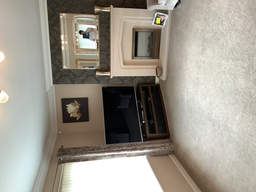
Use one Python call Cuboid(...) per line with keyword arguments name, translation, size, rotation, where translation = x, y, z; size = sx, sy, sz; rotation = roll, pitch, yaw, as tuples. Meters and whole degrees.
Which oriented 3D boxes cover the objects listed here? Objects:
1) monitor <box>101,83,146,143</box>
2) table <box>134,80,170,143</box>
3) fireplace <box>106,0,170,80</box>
Cuboid(name="monitor", translation=(-0.120, 0.310, 4.380), size=(0.050, 0.800, 1.280), rotation=(111, 155, -61))
Cuboid(name="table", translation=(0.480, 0.320, 4.560), size=(0.490, 0.450, 1.240), rotation=(111, 155, -61))
Cuboid(name="fireplace", translation=(0.130, -1.120, 4.380), size=(0.830, 1.100, 1.420), rotation=(-127, 37, -70))
